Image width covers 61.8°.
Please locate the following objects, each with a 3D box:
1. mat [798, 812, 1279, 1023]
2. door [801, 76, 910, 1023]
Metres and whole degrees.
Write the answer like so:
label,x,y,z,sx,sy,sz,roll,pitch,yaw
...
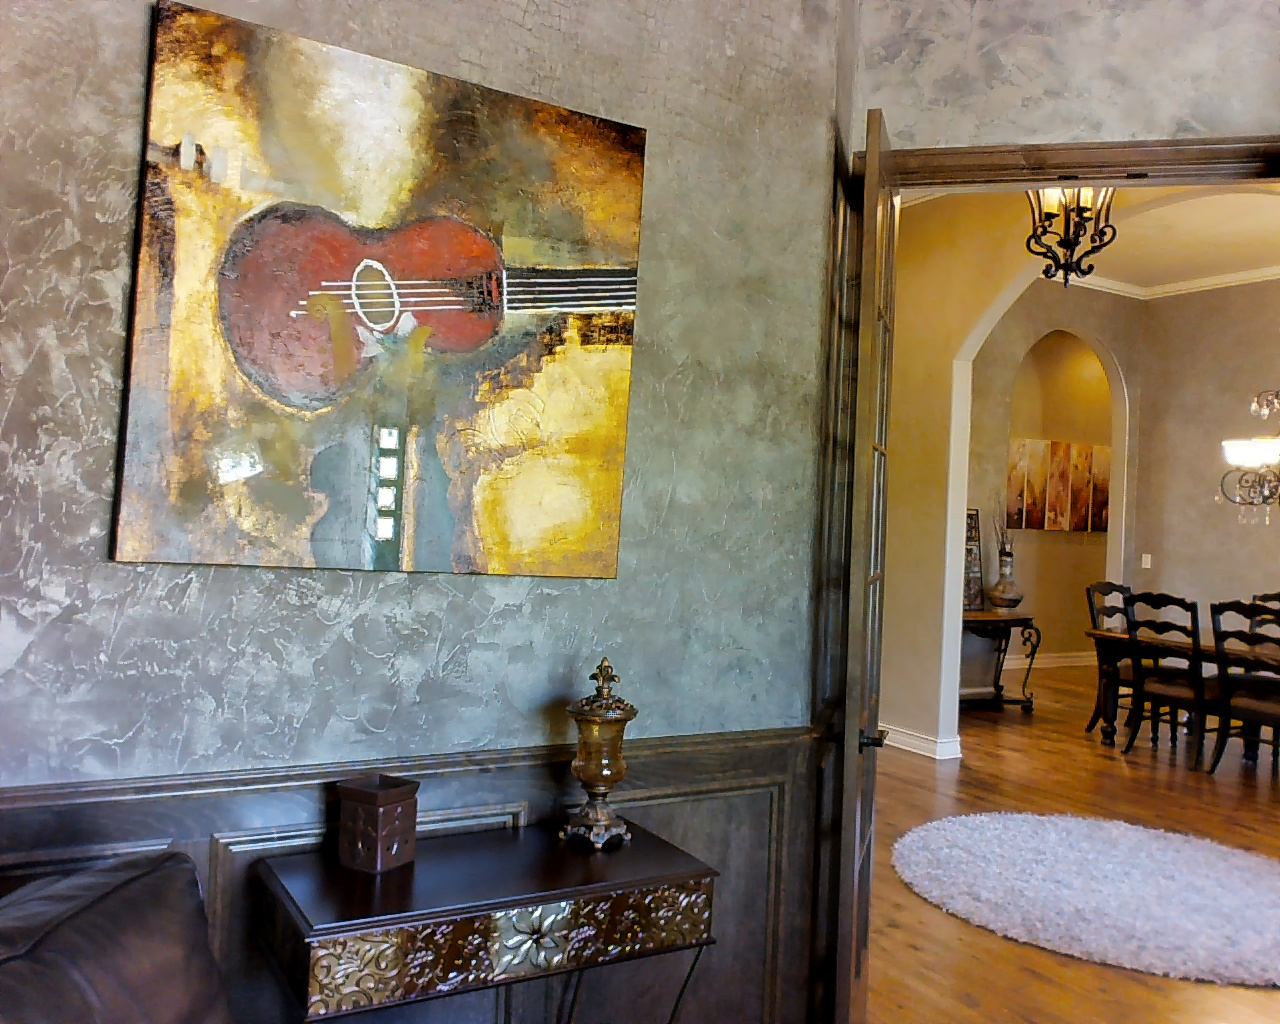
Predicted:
label,x,y,z,sx,sy,sz,roll,pitch,yaw
mat,2.010,1.600,4.430,1.900,0.030,1.920,3,-1,-30
door,0.590,0.240,2.880,0.160,2.570,0.630,2,-1,15
